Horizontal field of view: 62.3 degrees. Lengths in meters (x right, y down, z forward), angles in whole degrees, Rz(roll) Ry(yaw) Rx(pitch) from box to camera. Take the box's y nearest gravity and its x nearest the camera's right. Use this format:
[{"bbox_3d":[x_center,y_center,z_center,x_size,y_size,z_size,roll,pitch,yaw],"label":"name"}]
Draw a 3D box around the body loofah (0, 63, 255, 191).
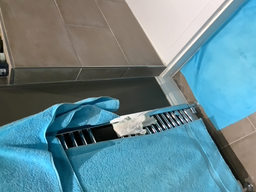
[{"bbox_3d":[0.100,0.340,0.880,0.230,1.180,1.010,-46,60,45],"label":"body loofah"}]
